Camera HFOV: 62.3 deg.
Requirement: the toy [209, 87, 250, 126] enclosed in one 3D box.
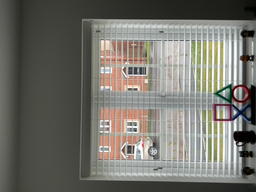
[{"bbox_3d":[0.800,0.080,1.690,0.140,0.250,0.290,-87,-2,-89],"label":"toy"}]
